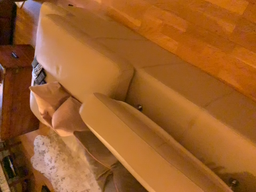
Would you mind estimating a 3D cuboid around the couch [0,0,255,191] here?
[{"bbox_3d":[0.200,0.470,1.130,2.690,0.850,1.080,38,123,27],"label":"couch"}]

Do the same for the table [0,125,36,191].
[{"bbox_3d":[-1.990,1.070,3.390,0.480,0.530,1.010,-27,84,41],"label":"table"}]
